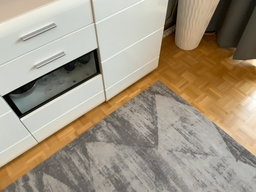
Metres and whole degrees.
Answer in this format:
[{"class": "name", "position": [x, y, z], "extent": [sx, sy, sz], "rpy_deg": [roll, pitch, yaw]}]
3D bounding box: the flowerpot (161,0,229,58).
[{"class": "flowerpot", "position": [0.550, -0.960, 1.580], "extent": [0.350, 1.350, 0.470], "rpy_deg": [-4, 53, -3]}]
